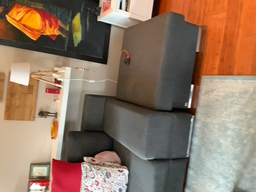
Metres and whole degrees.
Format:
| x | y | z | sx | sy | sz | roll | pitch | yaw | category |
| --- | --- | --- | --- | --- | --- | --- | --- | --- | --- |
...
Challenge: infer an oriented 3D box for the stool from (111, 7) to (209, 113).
| x | y | z | sx | sy | sz | roll | pitch | yaw | category |
| --- | --- | --- | --- | --- | --- | --- | --- | --- | --- |
| 0.240 | -0.300 | 2.010 | 0.790 | 0.430 | 0.760 | 14 | 97 | 61 | stool |
